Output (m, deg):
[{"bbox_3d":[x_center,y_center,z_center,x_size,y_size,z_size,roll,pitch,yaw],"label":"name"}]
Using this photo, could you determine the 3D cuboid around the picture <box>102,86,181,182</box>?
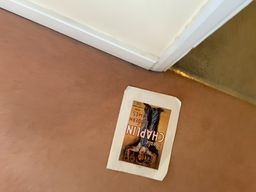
[{"bbox_3d":[0.050,0.130,0.740,0.220,0.010,0.290,13,84,-4],"label":"picture"}]
